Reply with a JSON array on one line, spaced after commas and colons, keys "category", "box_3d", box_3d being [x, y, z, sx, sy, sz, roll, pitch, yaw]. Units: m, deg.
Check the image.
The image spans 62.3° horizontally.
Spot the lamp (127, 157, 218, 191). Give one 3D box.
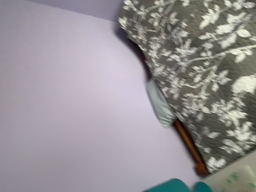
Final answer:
[{"category": "lamp", "box_3d": [0.190, 0.410, 0.860, 0.190, 0.280, 0.230, -58, 40, 41]}]
